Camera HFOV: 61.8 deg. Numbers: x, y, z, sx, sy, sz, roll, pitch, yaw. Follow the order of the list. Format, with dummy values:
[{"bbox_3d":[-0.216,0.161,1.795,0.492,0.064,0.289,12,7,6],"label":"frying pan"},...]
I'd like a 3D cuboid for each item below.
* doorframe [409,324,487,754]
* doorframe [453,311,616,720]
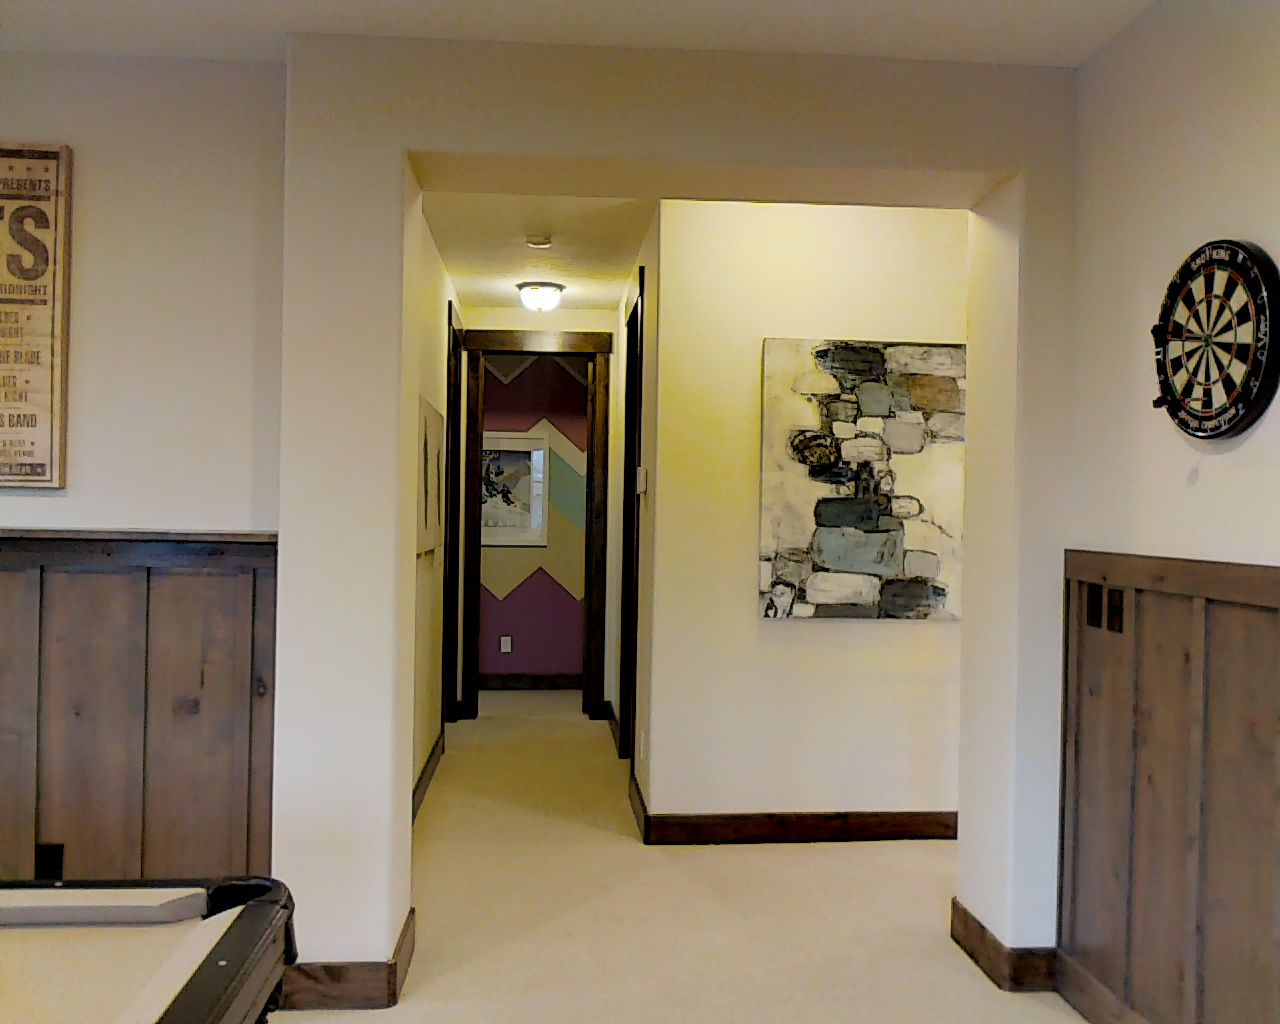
[{"bbox_3d":[-1.170,0.160,6.620,0.340,2.460,0.960,1,0,-5],"label":"doorframe"},{"bbox_3d":[-0.700,0.030,7.150,1.020,2.680,0.170,1,0,-5],"label":"doorframe"}]
